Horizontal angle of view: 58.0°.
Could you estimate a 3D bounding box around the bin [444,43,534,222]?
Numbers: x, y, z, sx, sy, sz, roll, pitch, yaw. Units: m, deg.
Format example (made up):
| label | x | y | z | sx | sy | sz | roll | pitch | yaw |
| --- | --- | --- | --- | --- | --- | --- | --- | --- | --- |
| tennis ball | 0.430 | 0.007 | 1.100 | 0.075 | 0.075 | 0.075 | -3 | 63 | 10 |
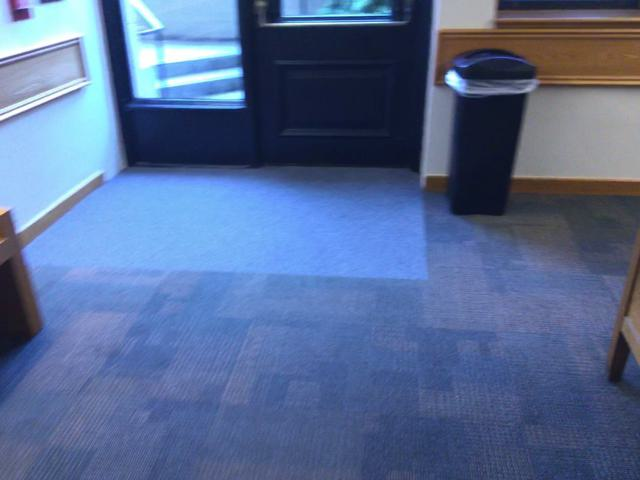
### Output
| label | x | y | z | sx | sy | sz | roll | pitch | yaw |
| --- | --- | --- | --- | --- | --- | --- | --- | --- | --- |
| bin | 0.840 | -0.550 | 2.970 | 0.380 | 0.830 | 0.360 | -1 | 22 | 9 |
